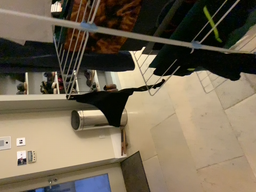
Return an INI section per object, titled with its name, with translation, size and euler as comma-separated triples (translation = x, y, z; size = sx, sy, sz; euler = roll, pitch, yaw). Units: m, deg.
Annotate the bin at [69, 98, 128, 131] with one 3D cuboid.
[bin]
translation = -0.400, 0.240, 2.870
size = 0.300, 0.700, 0.300
euler = -46, 52, 52
